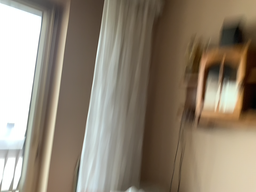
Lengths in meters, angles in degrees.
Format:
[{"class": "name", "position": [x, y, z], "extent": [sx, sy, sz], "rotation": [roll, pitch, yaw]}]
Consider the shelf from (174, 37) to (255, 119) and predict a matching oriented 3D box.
[{"class": "shelf", "position": [0.530, -0.090, 1.300], "extent": [0.370, 0.410, 0.260], "rotation": [3, -5, 44]}]
